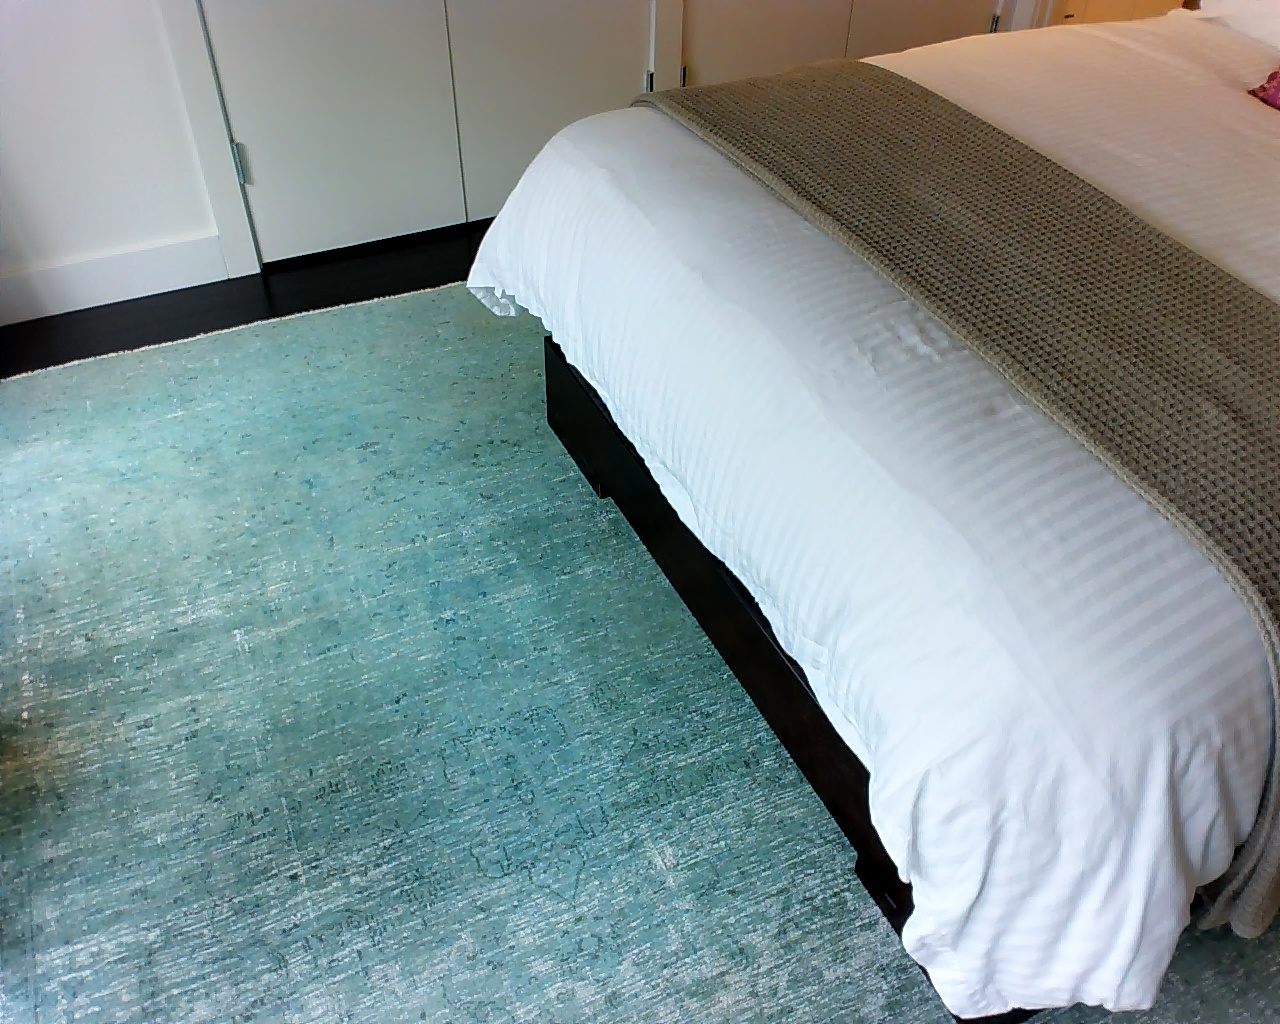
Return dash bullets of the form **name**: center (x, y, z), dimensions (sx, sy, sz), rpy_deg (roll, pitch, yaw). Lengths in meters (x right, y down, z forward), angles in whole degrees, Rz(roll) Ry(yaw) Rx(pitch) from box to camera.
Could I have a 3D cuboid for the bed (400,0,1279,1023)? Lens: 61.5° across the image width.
- **bed**: center (1.040, -0.410, 2.040), dimensions (2.380, 1.060, 1.920), rpy_deg (-18, 45, -20)
